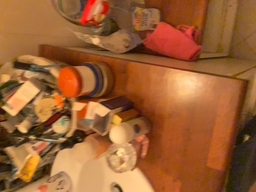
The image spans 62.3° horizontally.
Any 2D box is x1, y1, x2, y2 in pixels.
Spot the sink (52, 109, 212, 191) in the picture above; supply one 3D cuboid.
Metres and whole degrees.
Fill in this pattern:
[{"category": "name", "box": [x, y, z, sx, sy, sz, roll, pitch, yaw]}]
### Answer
[{"category": "sink", "box": [-0.040, 0.380, 0.690, 0.460, 0.160, 0.550, 17, 110, 33]}]
